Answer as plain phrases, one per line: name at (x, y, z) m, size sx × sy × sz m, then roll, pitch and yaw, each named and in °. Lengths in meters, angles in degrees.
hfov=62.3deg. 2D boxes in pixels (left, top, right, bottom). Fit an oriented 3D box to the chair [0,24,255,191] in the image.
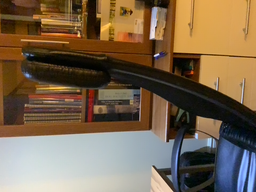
chair at (0.350, 0.220, 0.790) m, size 0.660 × 1.270 × 0.700 m, roll -157°, pitch 68°, yaw -73°
